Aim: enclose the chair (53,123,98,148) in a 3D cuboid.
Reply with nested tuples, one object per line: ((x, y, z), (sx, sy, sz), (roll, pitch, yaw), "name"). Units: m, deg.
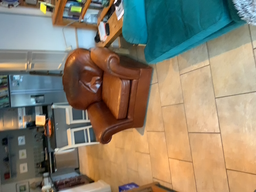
((-1.180, 0.860, 4.740), (0.360, 0.880, 0.410), (-15, 81, 62), "chair")

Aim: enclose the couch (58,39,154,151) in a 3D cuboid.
((-0.400, -0.110, 3.020), (1.080, 0.940, 1.200), (37, 126, 55), "couch")
